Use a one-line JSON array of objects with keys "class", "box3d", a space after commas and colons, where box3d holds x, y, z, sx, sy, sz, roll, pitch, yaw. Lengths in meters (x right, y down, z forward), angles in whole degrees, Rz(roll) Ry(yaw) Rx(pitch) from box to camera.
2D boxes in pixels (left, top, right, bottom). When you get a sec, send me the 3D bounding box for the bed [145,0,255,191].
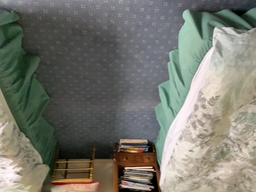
[{"class": "bed", "box3d": [0.840, 0.280, 1.840, 1.060, 0.570, 2.020, 0, 136, -6]}]
